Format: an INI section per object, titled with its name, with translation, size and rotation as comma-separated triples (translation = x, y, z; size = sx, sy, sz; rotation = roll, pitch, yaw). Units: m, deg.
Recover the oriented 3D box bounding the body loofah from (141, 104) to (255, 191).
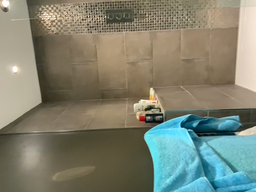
[body loofah]
translation = 0.650, 0.270, 0.940
size = 0.940, 1.140, 0.200
rotation = -87, -5, -75
